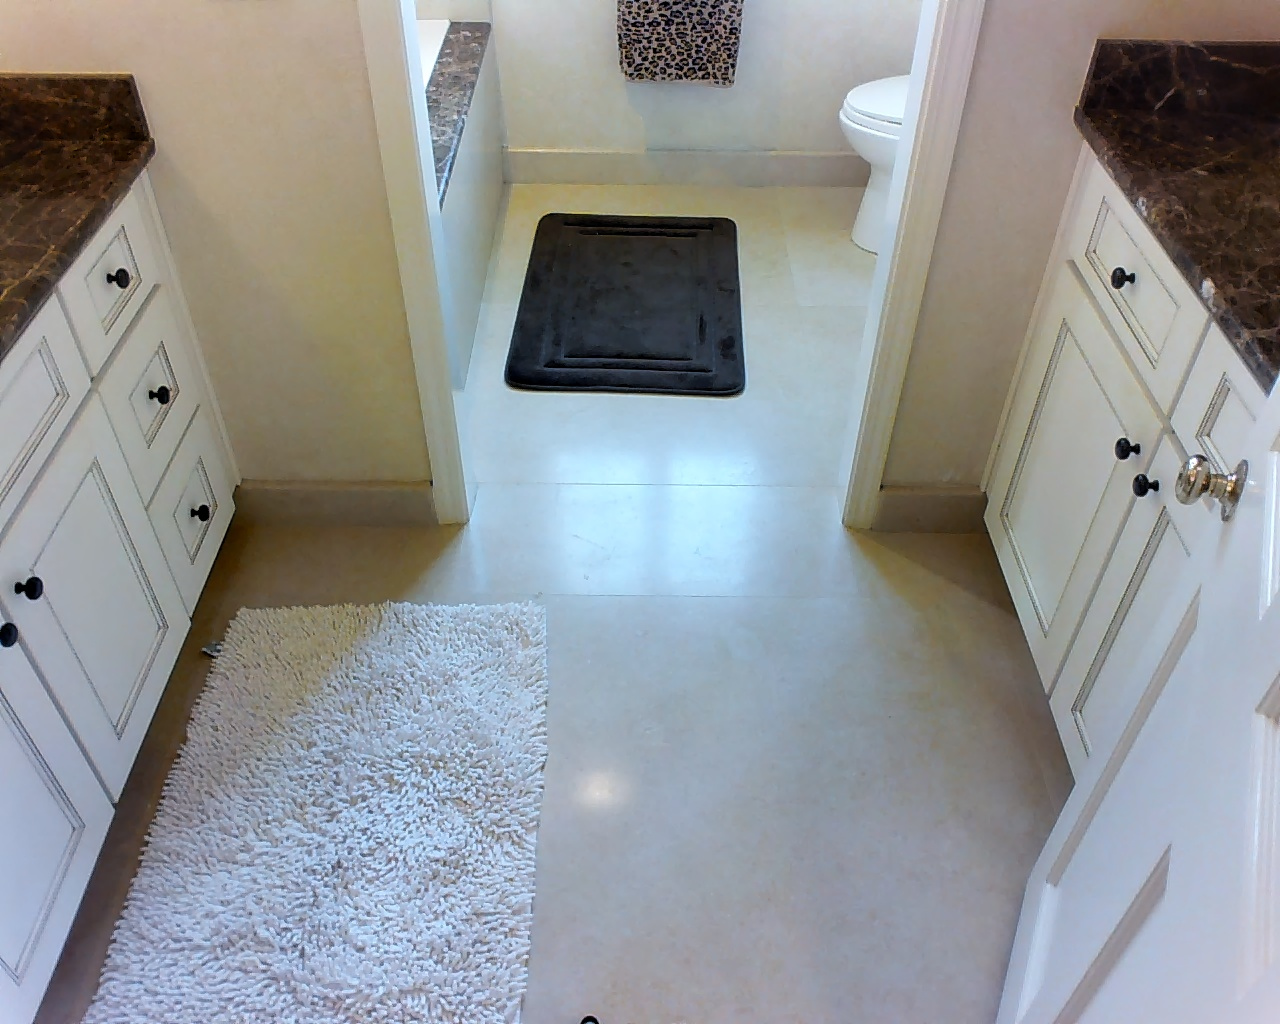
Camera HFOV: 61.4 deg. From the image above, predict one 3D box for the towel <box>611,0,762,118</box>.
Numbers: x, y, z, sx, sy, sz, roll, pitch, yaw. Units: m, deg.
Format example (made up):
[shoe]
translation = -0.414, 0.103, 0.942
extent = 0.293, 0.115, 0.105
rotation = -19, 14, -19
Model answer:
[towel]
translation = 0.130, -1.510, 3.040
extent = 0.420, 0.740, 0.160
rotation = 0, 42, 0
